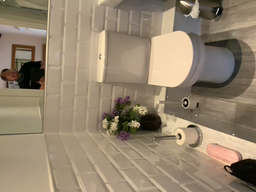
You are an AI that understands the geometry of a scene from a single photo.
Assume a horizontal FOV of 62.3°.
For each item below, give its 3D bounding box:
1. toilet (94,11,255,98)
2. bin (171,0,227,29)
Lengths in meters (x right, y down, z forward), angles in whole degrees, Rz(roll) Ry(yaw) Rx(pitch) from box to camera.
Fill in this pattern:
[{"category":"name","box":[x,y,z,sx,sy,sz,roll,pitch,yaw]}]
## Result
[{"category":"toilet","box":[0.270,-0.230,1.460,0.670,0.820,0.380,-164,77,-65]},{"category":"bin","box":[0.530,-0.650,1.600,0.240,0.300,0.190,-162,76,-65]}]
